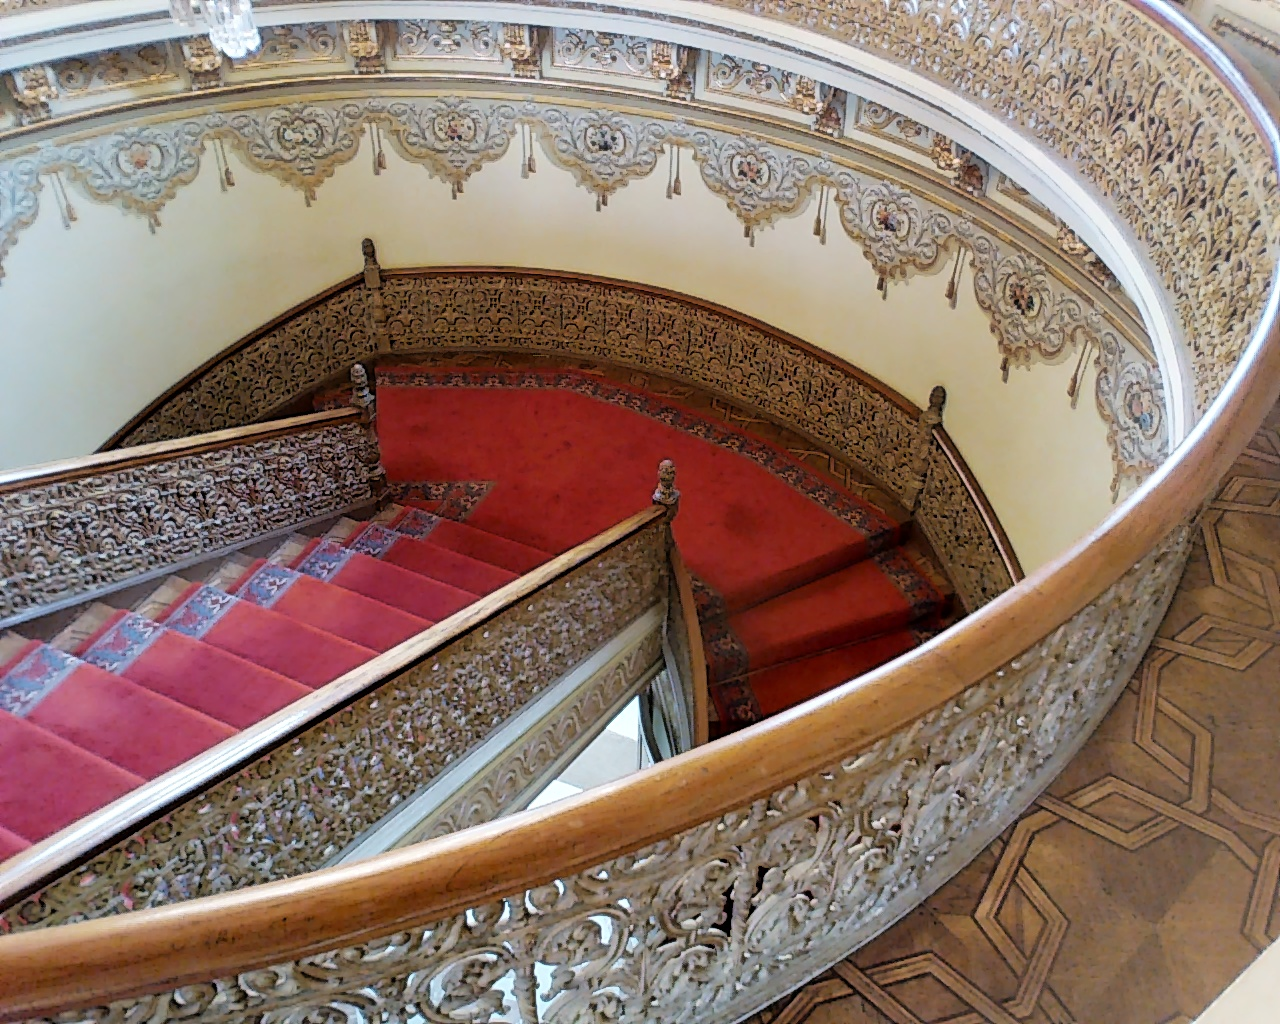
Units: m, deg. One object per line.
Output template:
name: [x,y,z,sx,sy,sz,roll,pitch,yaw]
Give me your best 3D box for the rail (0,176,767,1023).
rail: [-0.620,1.160,3.750,0.330,2.990,4.490,18,45,18]
